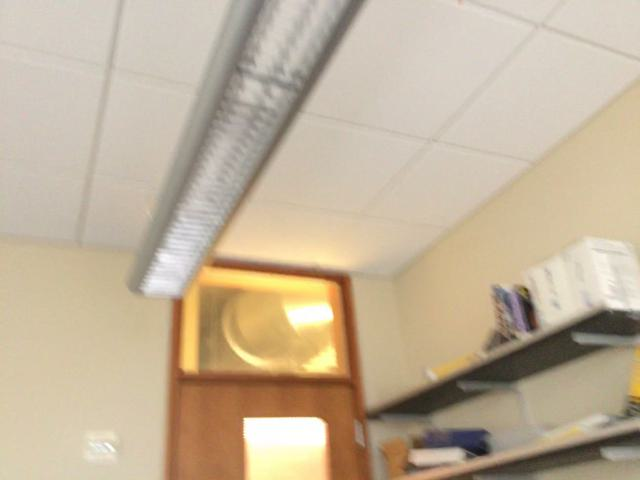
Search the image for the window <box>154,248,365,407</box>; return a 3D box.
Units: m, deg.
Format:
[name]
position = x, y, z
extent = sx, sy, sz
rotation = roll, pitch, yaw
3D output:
[window]
position = -0.300, 0.460, 2.900
extent = 0.950, 0.670, 0.300
rotation = 8, -29, -23
